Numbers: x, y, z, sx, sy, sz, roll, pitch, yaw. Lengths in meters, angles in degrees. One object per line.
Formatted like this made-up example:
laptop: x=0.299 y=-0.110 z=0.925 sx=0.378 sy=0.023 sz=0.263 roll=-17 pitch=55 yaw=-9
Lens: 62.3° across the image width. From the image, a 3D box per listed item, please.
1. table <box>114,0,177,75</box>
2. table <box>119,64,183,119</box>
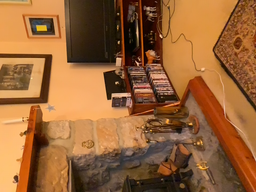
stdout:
table: x=0.150 y=-0.800 z=2.670 sx=0.750 sy=0.490 sz=0.770 roll=-105 pitch=19 yaw=-45
table: x=0.220 y=-0.080 z=2.360 sx=0.690 sy=0.530 sz=0.170 roll=-105 pitch=19 yaw=-45
